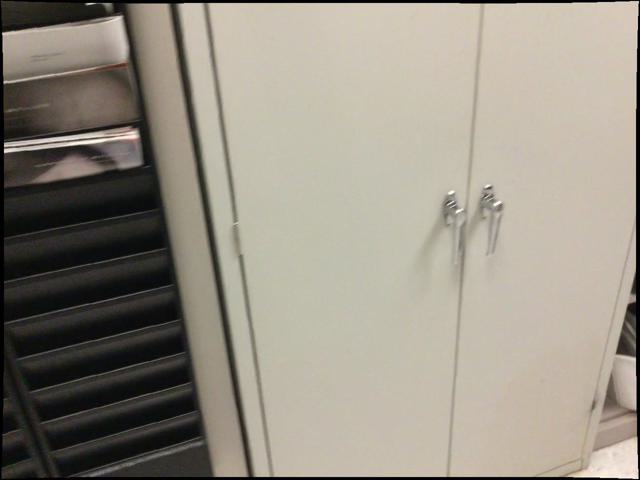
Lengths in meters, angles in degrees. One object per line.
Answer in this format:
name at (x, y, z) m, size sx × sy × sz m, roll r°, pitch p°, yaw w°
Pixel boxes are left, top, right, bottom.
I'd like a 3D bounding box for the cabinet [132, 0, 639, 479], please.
cabinet at (0.239, -0.140, 1.000) m, size 0.918 × 1.993 × 0.110 m, roll -14°, pitch 31°, yaw -9°
